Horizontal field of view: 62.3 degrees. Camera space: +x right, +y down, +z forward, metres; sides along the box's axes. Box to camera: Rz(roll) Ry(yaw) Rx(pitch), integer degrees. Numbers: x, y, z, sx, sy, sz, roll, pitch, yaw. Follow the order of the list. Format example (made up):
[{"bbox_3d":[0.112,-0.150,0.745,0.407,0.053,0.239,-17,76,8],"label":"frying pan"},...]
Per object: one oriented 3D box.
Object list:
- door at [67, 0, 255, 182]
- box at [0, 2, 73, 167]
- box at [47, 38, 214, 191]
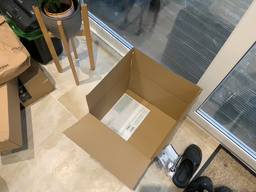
[{"bbox_3d":[0.430,-0.380,0.520,0.090,2.070,2.260,-41,72,-21],"label":"door"},{"bbox_3d":[-0.680,-0.060,1.230,0.420,0.480,0.720,-21,67,-14],"label":"box"},{"bbox_3d":[0.030,0.120,1.110,0.420,0.360,0.670,38,67,14],"label":"box"}]
